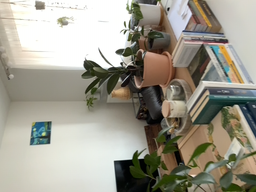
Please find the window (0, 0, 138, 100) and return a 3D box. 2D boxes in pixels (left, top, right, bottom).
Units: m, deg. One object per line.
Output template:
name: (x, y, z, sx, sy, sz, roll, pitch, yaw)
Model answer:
window: (-0.910, -0.770, 2.900, 2.360, 1.830, 0.170, 105, 160, -48)
